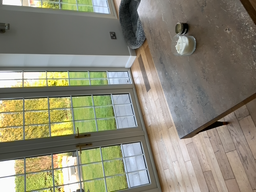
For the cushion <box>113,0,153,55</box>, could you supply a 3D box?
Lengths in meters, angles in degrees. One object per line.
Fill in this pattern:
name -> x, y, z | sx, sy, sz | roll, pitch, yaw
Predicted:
cushion -> 0.040, -1.180, 3.130 | 0.680, 0.170, 0.900 | 129, 133, -58
